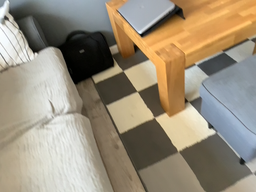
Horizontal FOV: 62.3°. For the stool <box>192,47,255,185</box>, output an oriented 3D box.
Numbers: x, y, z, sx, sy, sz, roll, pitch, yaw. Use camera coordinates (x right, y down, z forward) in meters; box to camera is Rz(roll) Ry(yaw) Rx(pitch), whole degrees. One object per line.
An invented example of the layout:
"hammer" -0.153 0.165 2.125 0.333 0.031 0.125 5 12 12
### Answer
"stool" 0.740 0.050 1.120 0.620 0.450 0.430 -24 47 -8
